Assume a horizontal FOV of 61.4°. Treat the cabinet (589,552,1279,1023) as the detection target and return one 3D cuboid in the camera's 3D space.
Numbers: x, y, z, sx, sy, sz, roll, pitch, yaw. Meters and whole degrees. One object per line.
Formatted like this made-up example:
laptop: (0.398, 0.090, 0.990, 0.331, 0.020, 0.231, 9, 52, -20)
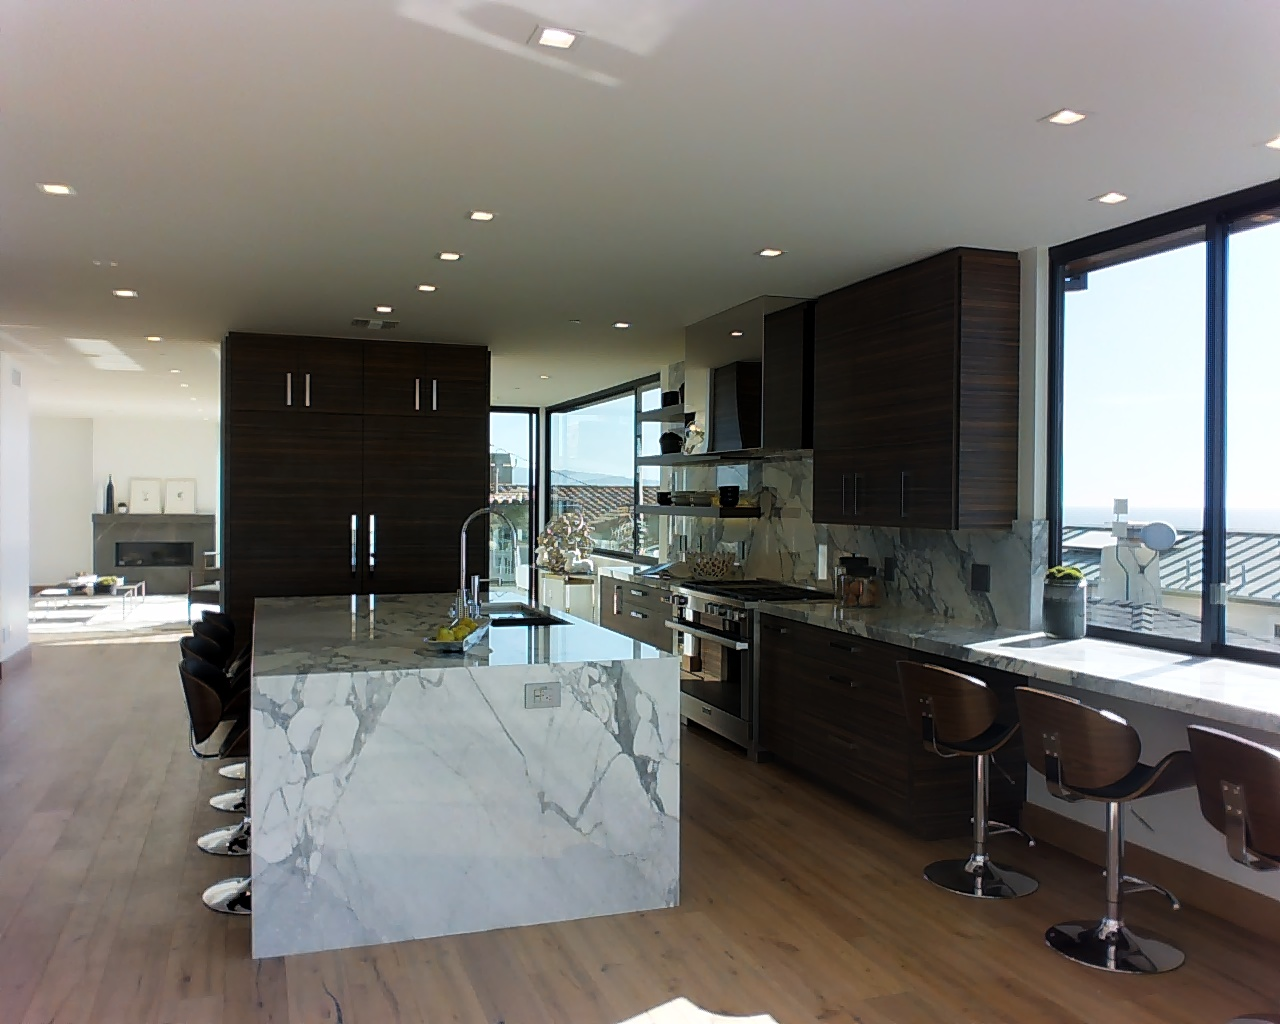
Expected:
cabinet: (1.110, 0.930, 5.960, 0.750, 1.080, 7.300, 0, 1, -19)
